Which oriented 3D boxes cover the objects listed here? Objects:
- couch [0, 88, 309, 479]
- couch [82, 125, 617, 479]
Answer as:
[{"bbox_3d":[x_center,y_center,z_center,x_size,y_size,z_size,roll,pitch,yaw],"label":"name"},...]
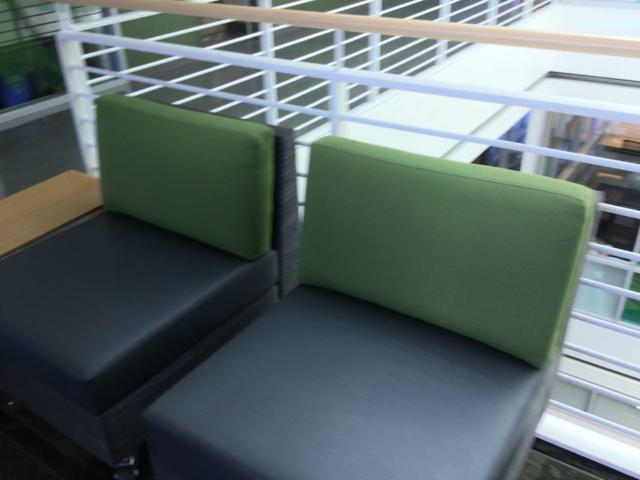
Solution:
[{"bbox_3d":[-0.550,0.100,1.670,0.700,0.890,0.710,15,31,34],"label":"couch"},{"bbox_3d":[0.110,0.290,1.270,0.740,0.860,0.720,14,30,31],"label":"couch"}]
